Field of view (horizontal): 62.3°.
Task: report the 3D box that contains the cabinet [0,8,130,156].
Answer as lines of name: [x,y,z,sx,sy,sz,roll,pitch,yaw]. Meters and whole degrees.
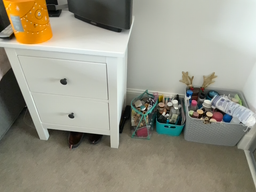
cabinet: [-0.270,-0.070,1.180,0.480,0.640,0.430,7,41,5]

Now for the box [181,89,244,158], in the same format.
box: [0.490,0.160,1.280,0.270,0.240,0.270,12,42,10]
